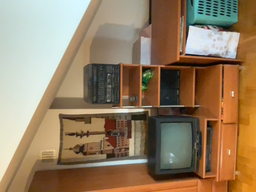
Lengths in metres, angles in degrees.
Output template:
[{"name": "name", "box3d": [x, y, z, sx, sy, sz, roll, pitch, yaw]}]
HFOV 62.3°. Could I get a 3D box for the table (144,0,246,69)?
[{"name": "table", "box3d": [0.650, -0.900, 2.250, 0.790, 0.700, 1.110, -173, 85, -74]}]
